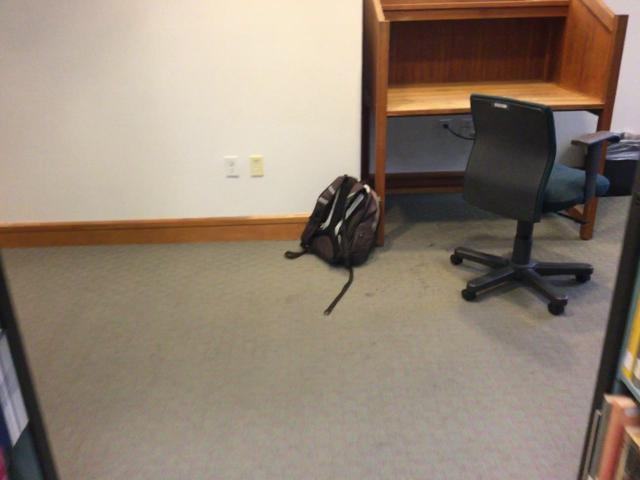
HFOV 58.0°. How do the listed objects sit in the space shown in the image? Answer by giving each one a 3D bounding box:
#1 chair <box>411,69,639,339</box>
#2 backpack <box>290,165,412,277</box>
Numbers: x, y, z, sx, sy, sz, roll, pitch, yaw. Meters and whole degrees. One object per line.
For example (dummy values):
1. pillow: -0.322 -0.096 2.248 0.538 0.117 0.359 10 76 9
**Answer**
1. chair: 0.930 -0.230 2.590 0.740 0.920 0.710 -19 27 -33
2. backpack: 0.150 -0.120 3.080 0.350 0.420 0.470 -5 29 -36
